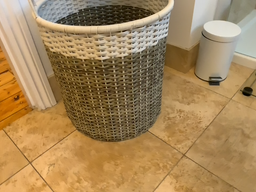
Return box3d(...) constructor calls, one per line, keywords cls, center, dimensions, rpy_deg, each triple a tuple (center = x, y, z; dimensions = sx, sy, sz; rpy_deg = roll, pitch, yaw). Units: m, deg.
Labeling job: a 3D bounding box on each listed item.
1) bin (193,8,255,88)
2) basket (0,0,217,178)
box3d(cls="bin", center=(0.480, -0.240, 1.050), dimensions=(0.200, 0.290, 0.190), rpy_deg=(29, 51, 31))
box3d(cls="basket", center=(-0.050, -0.130, 0.840), dimensions=(0.500, 0.480, 0.500), rpy_deg=(29, 51, 32))
